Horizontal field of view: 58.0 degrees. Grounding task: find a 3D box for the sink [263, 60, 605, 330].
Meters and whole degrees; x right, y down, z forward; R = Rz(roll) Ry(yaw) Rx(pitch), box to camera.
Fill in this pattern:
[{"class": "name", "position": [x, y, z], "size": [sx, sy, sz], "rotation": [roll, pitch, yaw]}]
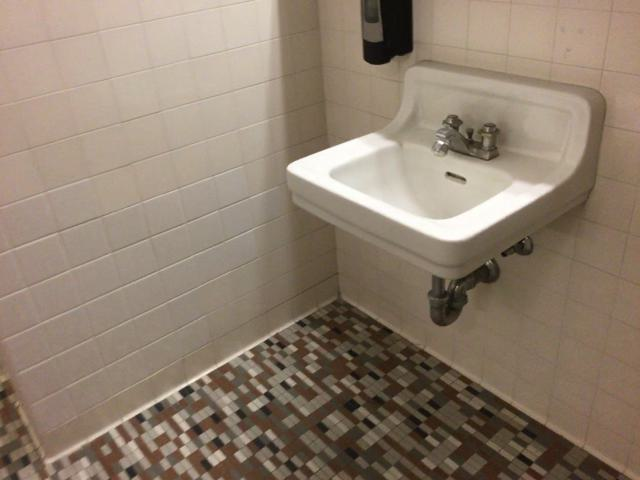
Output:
[{"class": "sink", "position": [0.230, -0.150, 1.260], "size": [0.460, 0.340, 0.510], "rotation": [-25, 35, -35]}]
